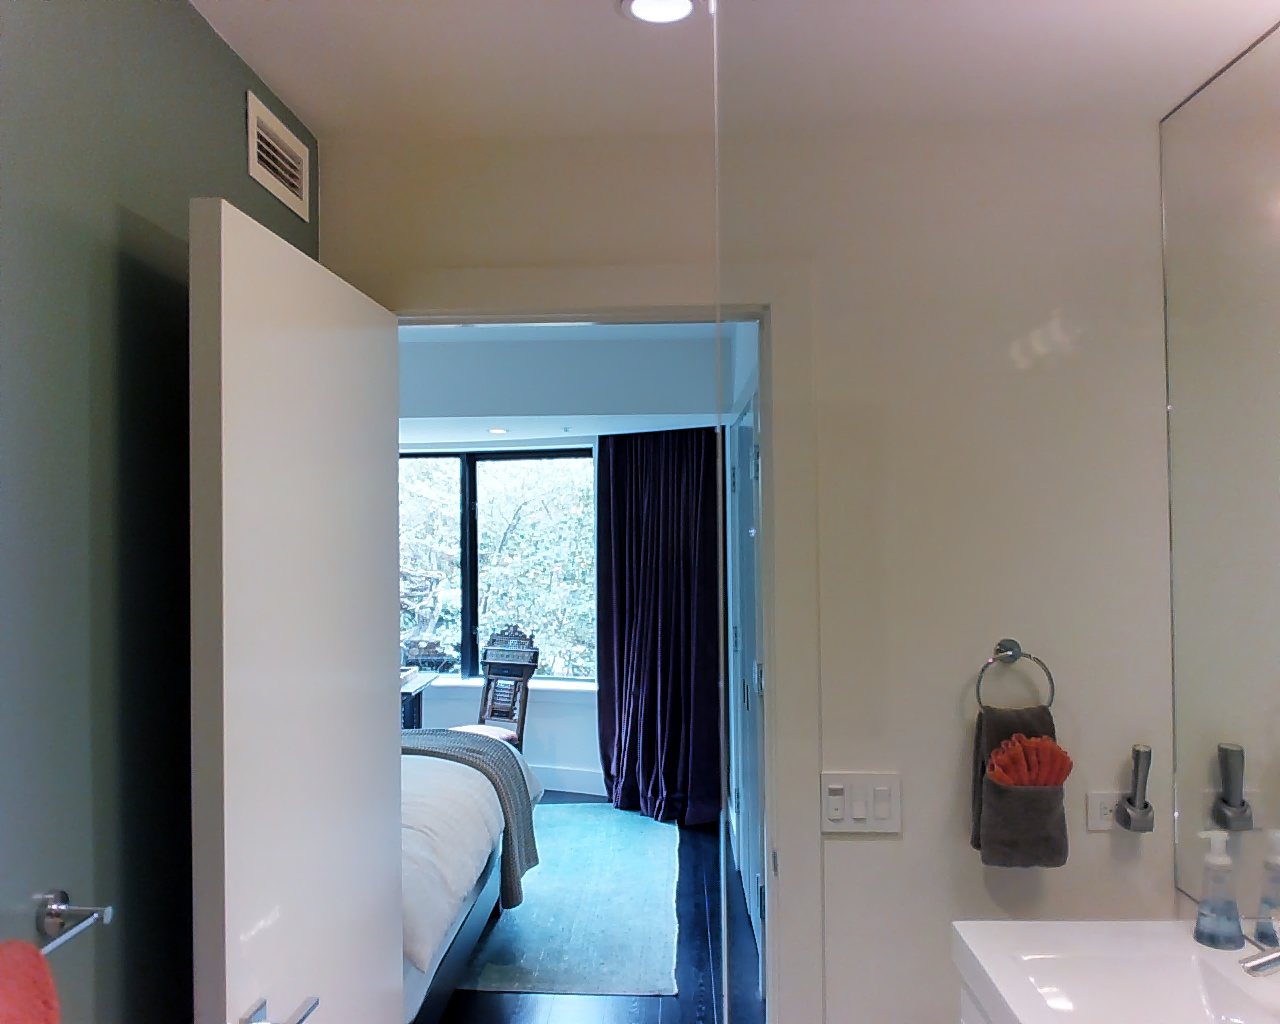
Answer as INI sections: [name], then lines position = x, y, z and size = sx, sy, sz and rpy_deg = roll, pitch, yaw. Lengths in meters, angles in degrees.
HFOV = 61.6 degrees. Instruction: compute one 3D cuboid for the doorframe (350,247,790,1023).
[doorframe]
position = -0.140, 0.550, 2.260
size = 0.870, 2.160, 0.160
rpy_deg = -1, -1, 1
